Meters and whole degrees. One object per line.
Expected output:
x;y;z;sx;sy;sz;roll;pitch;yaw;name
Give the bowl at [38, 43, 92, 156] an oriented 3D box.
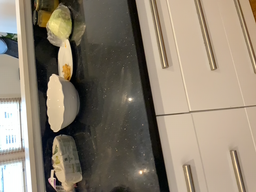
-0.270;0.030;0.860;0.250;0.100;0.400;-24;72;54;bowl
